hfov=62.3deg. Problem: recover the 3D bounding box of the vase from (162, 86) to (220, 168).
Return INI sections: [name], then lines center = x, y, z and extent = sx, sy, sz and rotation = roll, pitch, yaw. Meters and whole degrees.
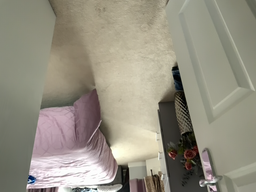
[vase]
center = 0.530, 0.270, 1.920
extent = 0.340, 0.660, 0.240
rotation = -5, 149, 2
